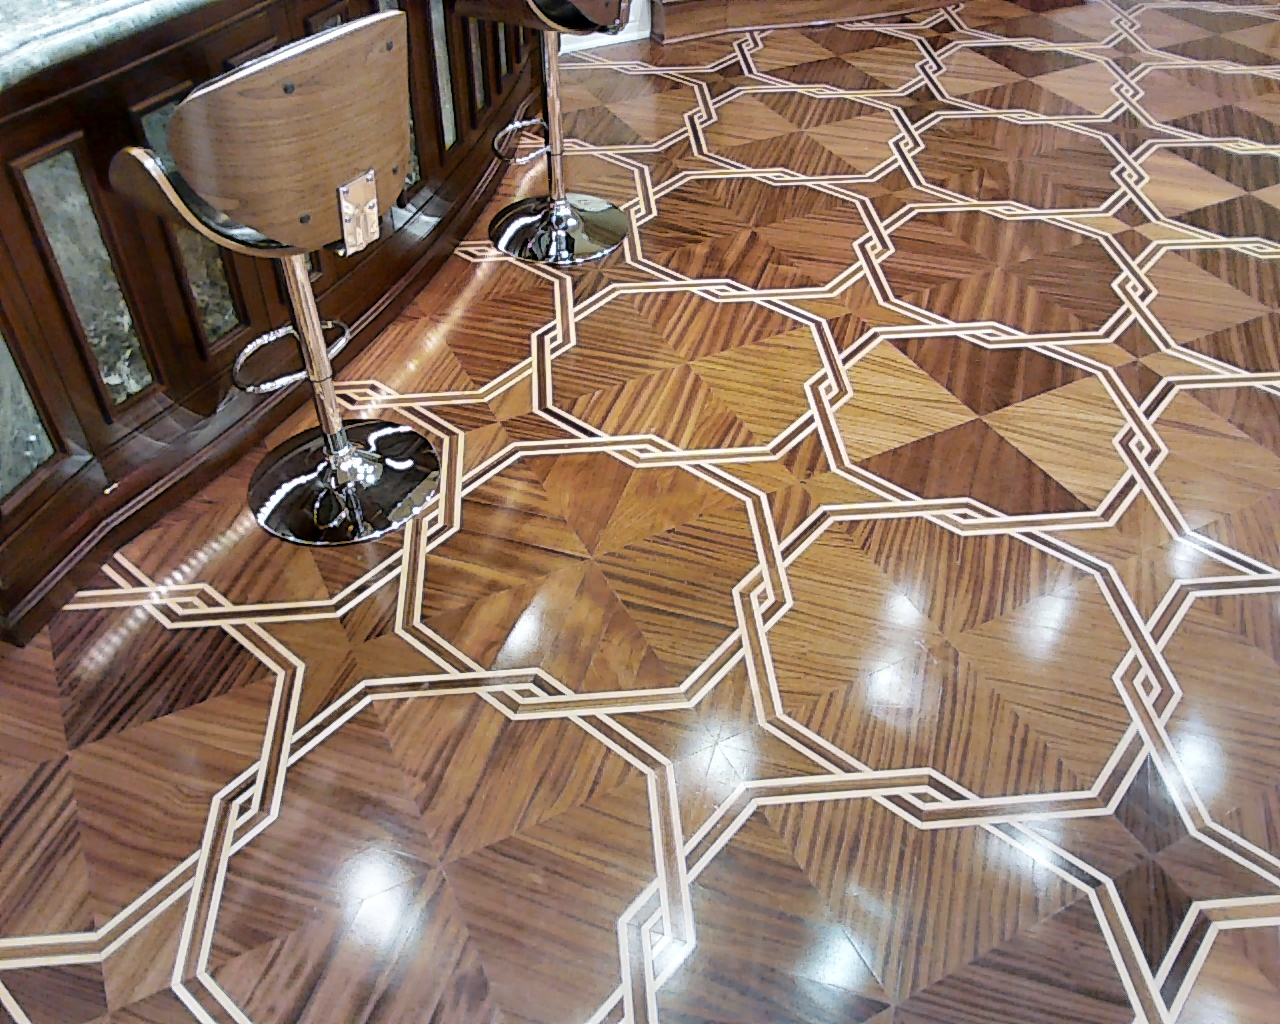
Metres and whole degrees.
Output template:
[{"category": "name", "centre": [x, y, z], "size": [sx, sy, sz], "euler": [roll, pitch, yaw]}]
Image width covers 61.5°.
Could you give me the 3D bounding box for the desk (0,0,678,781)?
[{"category": "desk", "centre": [-0.840, -1.070, 2.810], "size": [0.990, 1.260, 3.130], "euler": [13, 45, 14]}]
